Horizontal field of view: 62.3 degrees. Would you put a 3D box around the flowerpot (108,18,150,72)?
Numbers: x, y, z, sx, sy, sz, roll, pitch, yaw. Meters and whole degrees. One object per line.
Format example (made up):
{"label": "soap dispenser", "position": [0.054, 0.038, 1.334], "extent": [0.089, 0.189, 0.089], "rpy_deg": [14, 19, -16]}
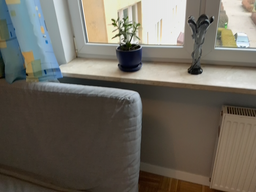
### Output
{"label": "flowerpot", "position": [0.020, -0.320, 1.310], "extent": [0.190, 0.270, 0.190], "rpy_deg": [8, 31, 20]}

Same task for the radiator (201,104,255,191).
{"label": "radiator", "position": [0.840, 0.430, 1.290], "extent": [0.670, 0.700, 0.160], "rpy_deg": [7, 31, 18]}
